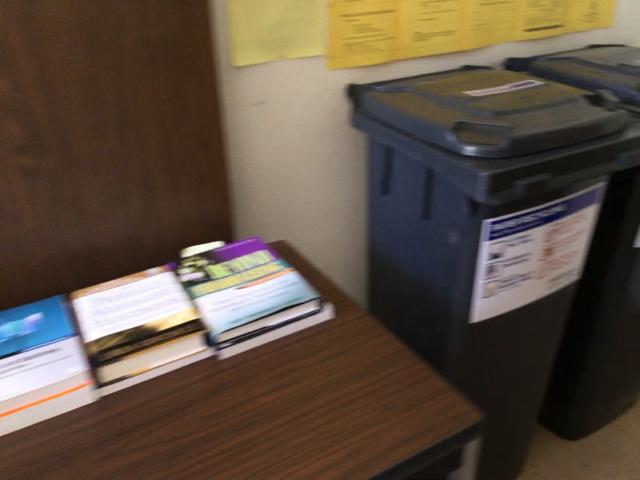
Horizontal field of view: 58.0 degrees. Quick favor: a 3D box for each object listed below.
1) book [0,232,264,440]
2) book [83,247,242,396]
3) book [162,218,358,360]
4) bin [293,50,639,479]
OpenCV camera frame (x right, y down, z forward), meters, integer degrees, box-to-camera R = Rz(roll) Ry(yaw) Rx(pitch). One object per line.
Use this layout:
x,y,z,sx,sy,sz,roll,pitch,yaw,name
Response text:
-0.350,0.130,0.950,0.420,0.070,0.310,-18,29,-24,book
-0.280,0.120,0.990,0.180,0.060,0.310,-18,29,-24,book
-0.120,0.070,1.060,0.250,0.060,0.310,-18,29,-24,book
0.360,0.160,1.420,0.560,1.080,0.540,-18,29,-24,bin
